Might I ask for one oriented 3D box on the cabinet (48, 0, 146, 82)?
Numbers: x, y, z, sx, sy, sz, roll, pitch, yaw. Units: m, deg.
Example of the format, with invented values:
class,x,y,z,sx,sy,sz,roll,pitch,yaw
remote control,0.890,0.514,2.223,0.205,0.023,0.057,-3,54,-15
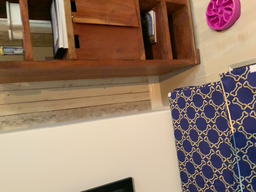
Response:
class,x,y,z,sx,sy,sz,roll,pitch,yaw
cabinet,-0.220,-0.330,1.310,0.490,0.420,0.410,-5,91,62
